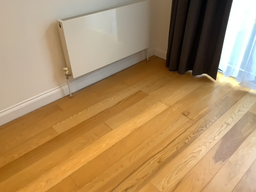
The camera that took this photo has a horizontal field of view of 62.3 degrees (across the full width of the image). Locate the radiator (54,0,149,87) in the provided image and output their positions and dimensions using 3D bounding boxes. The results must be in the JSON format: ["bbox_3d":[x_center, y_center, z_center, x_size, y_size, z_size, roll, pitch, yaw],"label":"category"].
[{"bbox_3d":[-0.210,-0.660,2.490,0.150,0.660,1.210,30,46,36],"label":"radiator"}]

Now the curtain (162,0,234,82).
[{"bbox_3d":[0.780,-1.360,2.160,0.280,2.460,0.660,-29,44,-33],"label":"curtain"}]
